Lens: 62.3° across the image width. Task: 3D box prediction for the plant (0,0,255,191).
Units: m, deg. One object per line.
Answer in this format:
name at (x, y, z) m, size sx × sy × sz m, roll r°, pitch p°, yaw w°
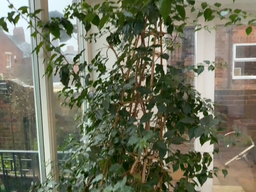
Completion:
plant at (0.200, 0.240, 1.040) m, size 1.000 × 2.200 × 0.960 m, roll 1°, pitch 7°, yaw 11°
